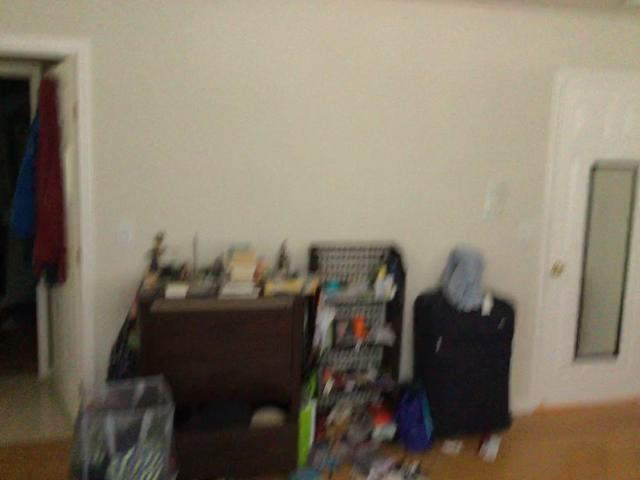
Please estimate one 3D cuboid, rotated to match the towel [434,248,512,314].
[{"bbox_3d":[0.850,0.220,3.250,0.300,0.310,0.330,-1,6,-11],"label":"towel"}]
